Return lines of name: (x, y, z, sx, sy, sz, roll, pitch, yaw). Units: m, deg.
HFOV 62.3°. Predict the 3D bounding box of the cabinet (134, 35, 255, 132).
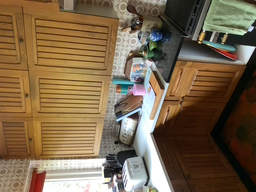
cabinet: (0.630, -0.110, 2.250, 0.580, 0.890, 0.800, -108, 25, -52)
